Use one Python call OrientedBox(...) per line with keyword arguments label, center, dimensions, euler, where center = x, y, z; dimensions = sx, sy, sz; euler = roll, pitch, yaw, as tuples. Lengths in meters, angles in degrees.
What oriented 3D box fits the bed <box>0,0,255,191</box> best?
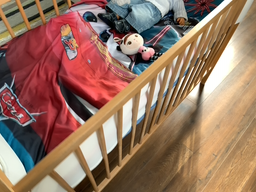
OrientedBox(label="bed", center=(-0.040, -0.200, 1.090), dimensions=(0.690, 1.080, 1.490), euler=(38, 63, 21))
